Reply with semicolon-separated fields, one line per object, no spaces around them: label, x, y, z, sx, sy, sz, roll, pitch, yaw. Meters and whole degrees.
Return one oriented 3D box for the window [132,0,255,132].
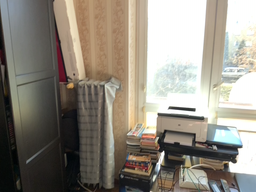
window;0.810;-0.620;1.970;1.530;1.870;0.210;4;14;14

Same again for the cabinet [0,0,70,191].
cabinet;-0.900;0.120;1.700;0.530;1.890;0.580;4;14;14
